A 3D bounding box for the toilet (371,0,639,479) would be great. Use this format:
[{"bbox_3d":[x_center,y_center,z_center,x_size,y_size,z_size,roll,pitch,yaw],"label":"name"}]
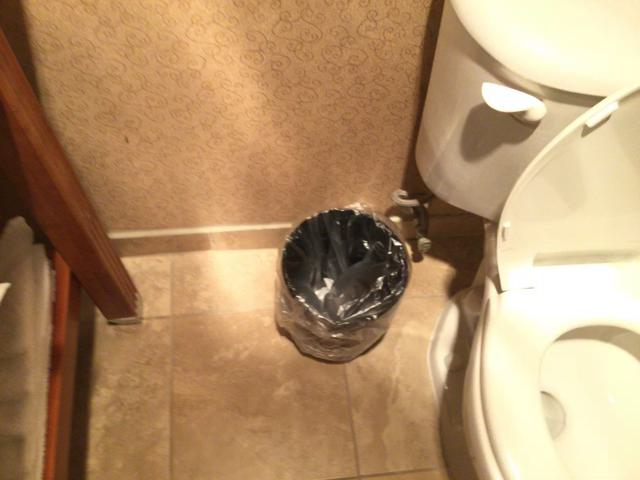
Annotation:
[{"bbox_3d":[0.390,0.100,0.770,0.480,0.770,0.680,-5,63,-4],"label":"toilet"}]
